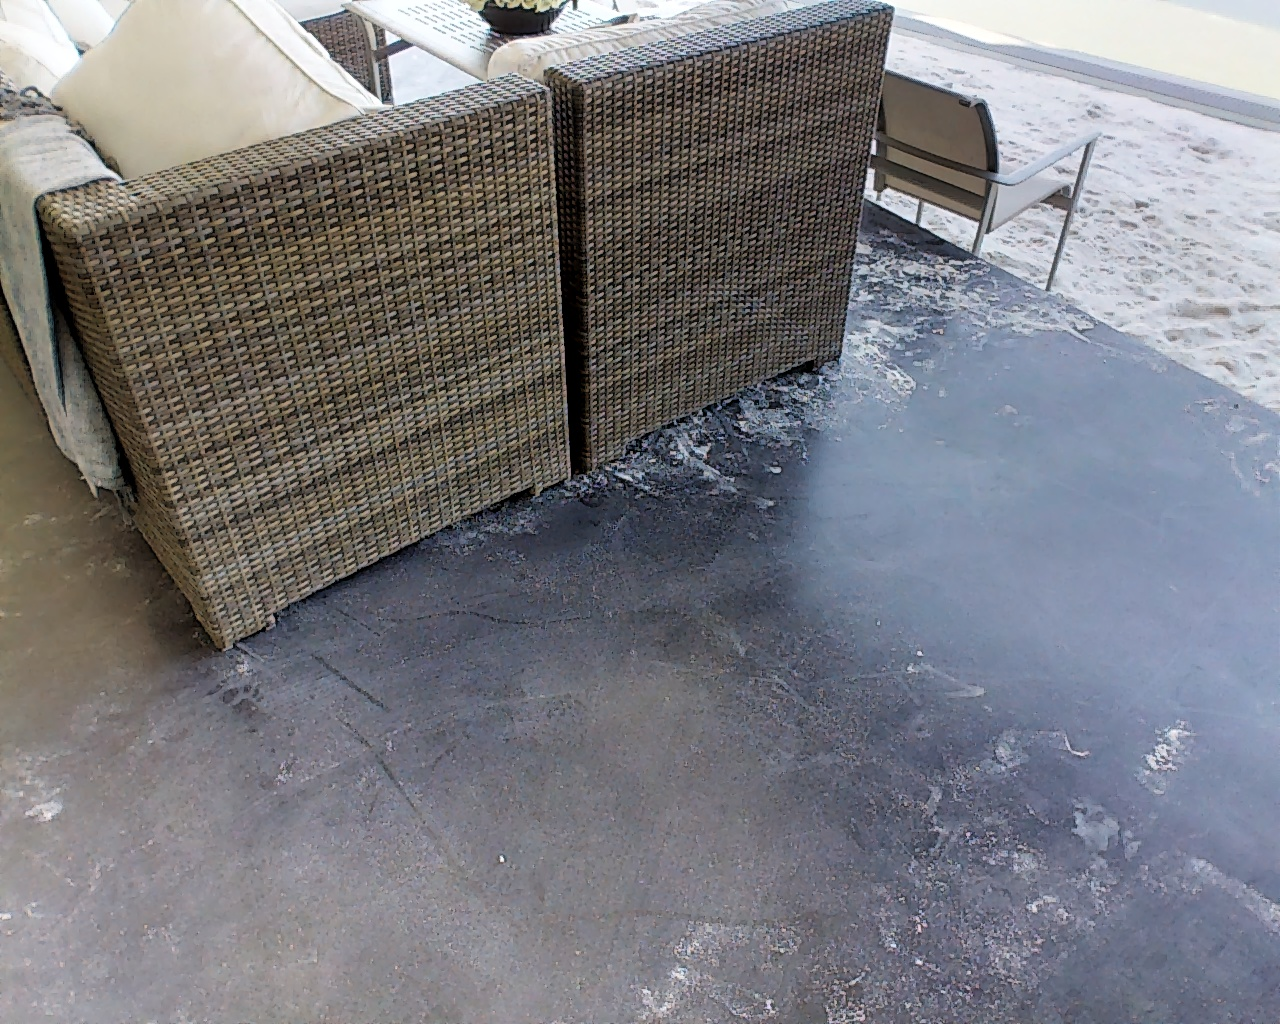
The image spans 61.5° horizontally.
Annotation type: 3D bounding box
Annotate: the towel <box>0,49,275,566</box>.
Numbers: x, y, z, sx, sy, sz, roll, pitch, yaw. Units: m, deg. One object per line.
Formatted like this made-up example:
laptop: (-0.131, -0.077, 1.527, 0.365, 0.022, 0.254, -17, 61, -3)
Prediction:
towel: (-0.980, -0.360, 1.930, 0.270, 0.720, 0.520, -30, 50, -30)
